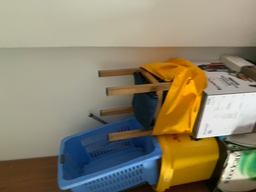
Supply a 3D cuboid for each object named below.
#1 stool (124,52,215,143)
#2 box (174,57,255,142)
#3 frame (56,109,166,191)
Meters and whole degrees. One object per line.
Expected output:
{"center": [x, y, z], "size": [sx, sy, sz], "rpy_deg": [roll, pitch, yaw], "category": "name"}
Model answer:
{"center": [0.200, -0.020, 1.300], "size": [0.450, 0.370, 0.370], "rpy_deg": [-112, 22, -60], "category": "stool"}
{"center": [0.580, -0.010, 1.330], "size": [0.460, 0.390, 0.340], "rpy_deg": [-114, 23, -62], "category": "box"}
{"center": [-0.130, 0.380, 1.380], "size": [0.530, 0.560, 0.330], "rpy_deg": [-112, 22, -60], "category": "frame"}
